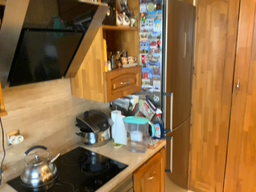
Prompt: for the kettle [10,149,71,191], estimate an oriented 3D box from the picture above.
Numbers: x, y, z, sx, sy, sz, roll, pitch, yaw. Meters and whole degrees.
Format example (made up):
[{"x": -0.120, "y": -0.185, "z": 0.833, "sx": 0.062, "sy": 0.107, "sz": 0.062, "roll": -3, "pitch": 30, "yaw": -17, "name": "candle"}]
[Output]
[{"x": -0.550, "y": 0.500, "z": 1.340, "sx": 0.280, "sy": 0.180, "sz": 0.220, "roll": 8, "pitch": 17, "yaw": 34, "name": "kettle"}]
